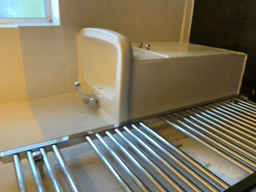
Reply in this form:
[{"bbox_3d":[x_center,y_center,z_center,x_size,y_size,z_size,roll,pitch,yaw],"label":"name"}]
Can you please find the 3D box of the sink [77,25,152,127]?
[{"bbox_3d":[-0.110,-0.150,1.170,0.520,0.160,0.430,32,126,52],"label":"sink"}]
